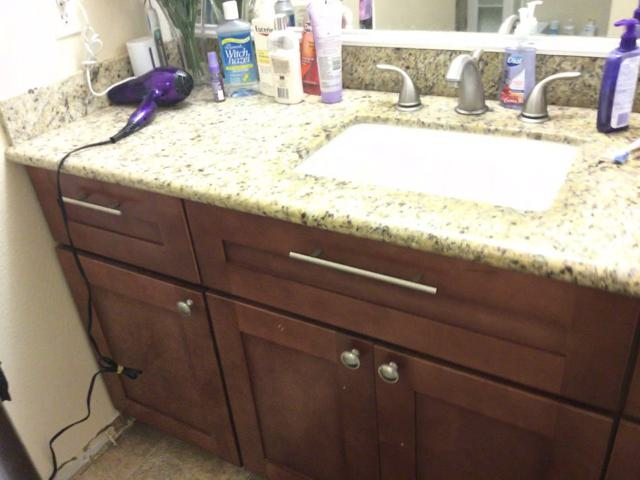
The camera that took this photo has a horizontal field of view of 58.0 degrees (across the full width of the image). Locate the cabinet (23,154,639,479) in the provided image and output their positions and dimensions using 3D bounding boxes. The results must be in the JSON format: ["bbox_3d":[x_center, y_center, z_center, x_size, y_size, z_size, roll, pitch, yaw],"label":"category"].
[{"bbox_3d":[0.120,0.340,1.060,1.680,0.780,0.100,14,33,29],"label":"cabinet"}]

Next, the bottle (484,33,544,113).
[{"bbox_3d":[0.380,-0.330,1.140,0.090,0.140,0.050,14,33,29],"label":"bottle"}]

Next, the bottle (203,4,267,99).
[{"bbox_3d":[-0.200,-0.450,1.380,0.100,0.200,0.080,14,33,29],"label":"bottle"}]

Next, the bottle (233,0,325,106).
[{"bbox_3d":[-0.090,-0.440,1.320,0.160,0.230,0.100,14,33,29],"label":"bottle"}]

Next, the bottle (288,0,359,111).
[{"bbox_3d":[0.010,-0.410,1.280,0.120,0.220,0.080,14,33,29],"label":"bottle"}]
